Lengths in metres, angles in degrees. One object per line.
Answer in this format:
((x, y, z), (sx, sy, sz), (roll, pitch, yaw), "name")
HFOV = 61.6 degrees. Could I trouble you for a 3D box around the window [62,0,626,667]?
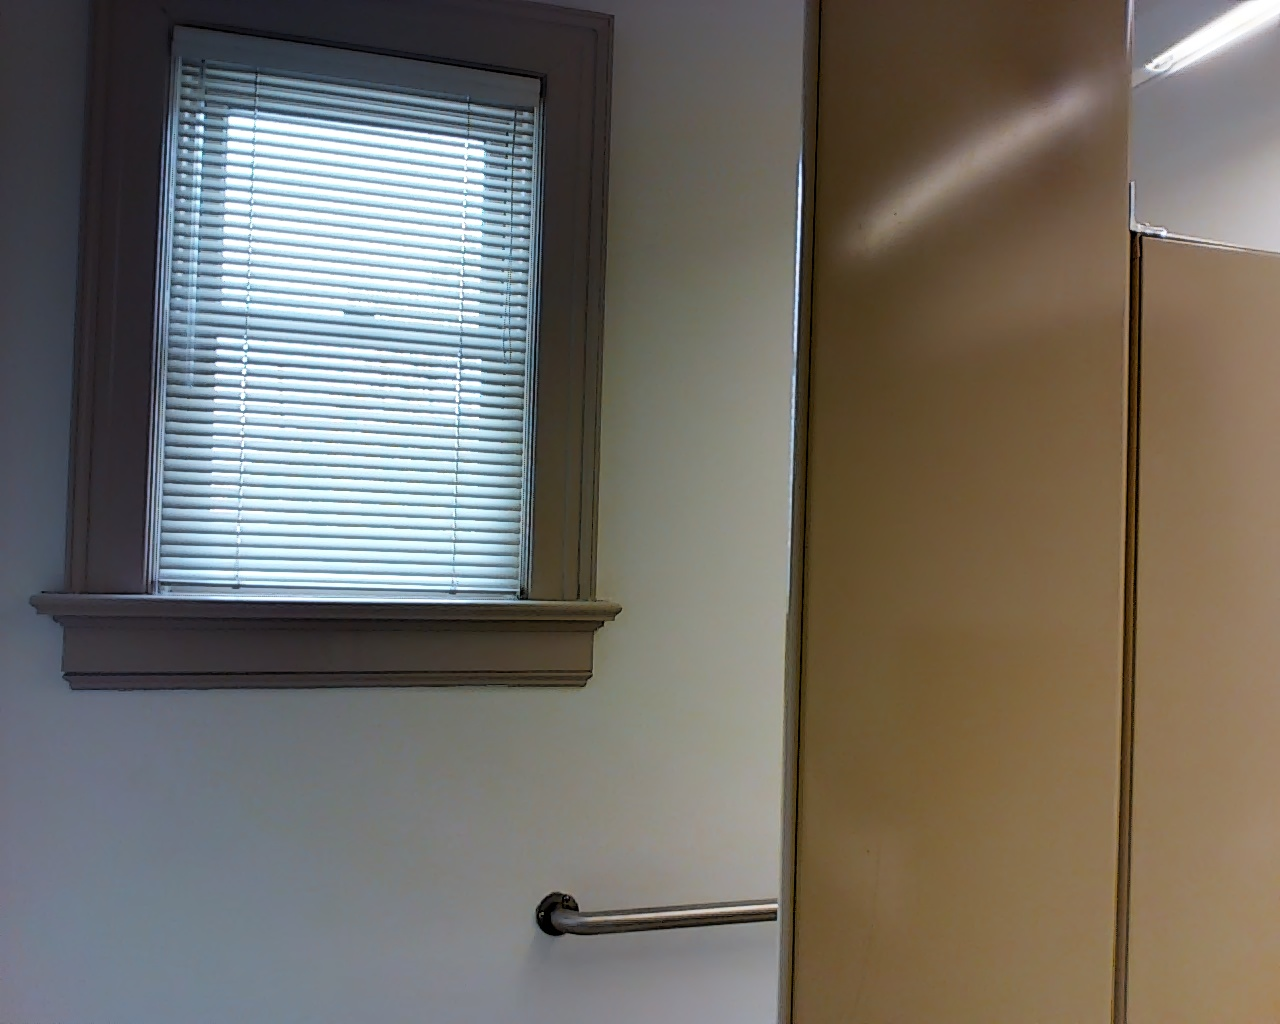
((-0.460, -0.330, 1.790), (0.840, 1.160, 0.100), (2, -1, -15), "window")
